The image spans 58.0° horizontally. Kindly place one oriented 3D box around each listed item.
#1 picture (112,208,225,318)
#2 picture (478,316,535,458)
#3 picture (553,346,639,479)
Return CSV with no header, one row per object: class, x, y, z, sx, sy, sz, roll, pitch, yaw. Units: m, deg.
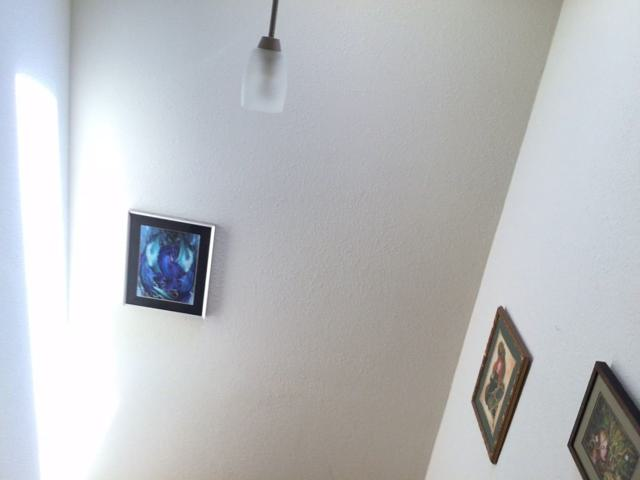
picture,-0.740,0.120,2.870,0.500,0.560,0.060,1,23,1
picture,0.720,0.570,2.270,0.080,0.430,0.320,1,23,1
picture,0.740,0.540,1.500,0.070,0.350,0.410,1,23,1
